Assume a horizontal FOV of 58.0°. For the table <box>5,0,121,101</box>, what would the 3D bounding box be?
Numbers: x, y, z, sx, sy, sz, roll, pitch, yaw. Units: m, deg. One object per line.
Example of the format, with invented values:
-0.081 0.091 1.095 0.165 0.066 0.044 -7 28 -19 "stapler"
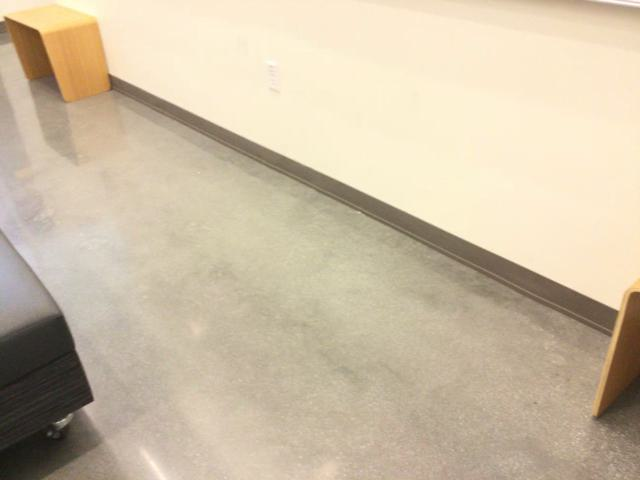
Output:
-1.660 -1.260 3.730 0.360 0.440 0.750 -26 42 -31 "table"
